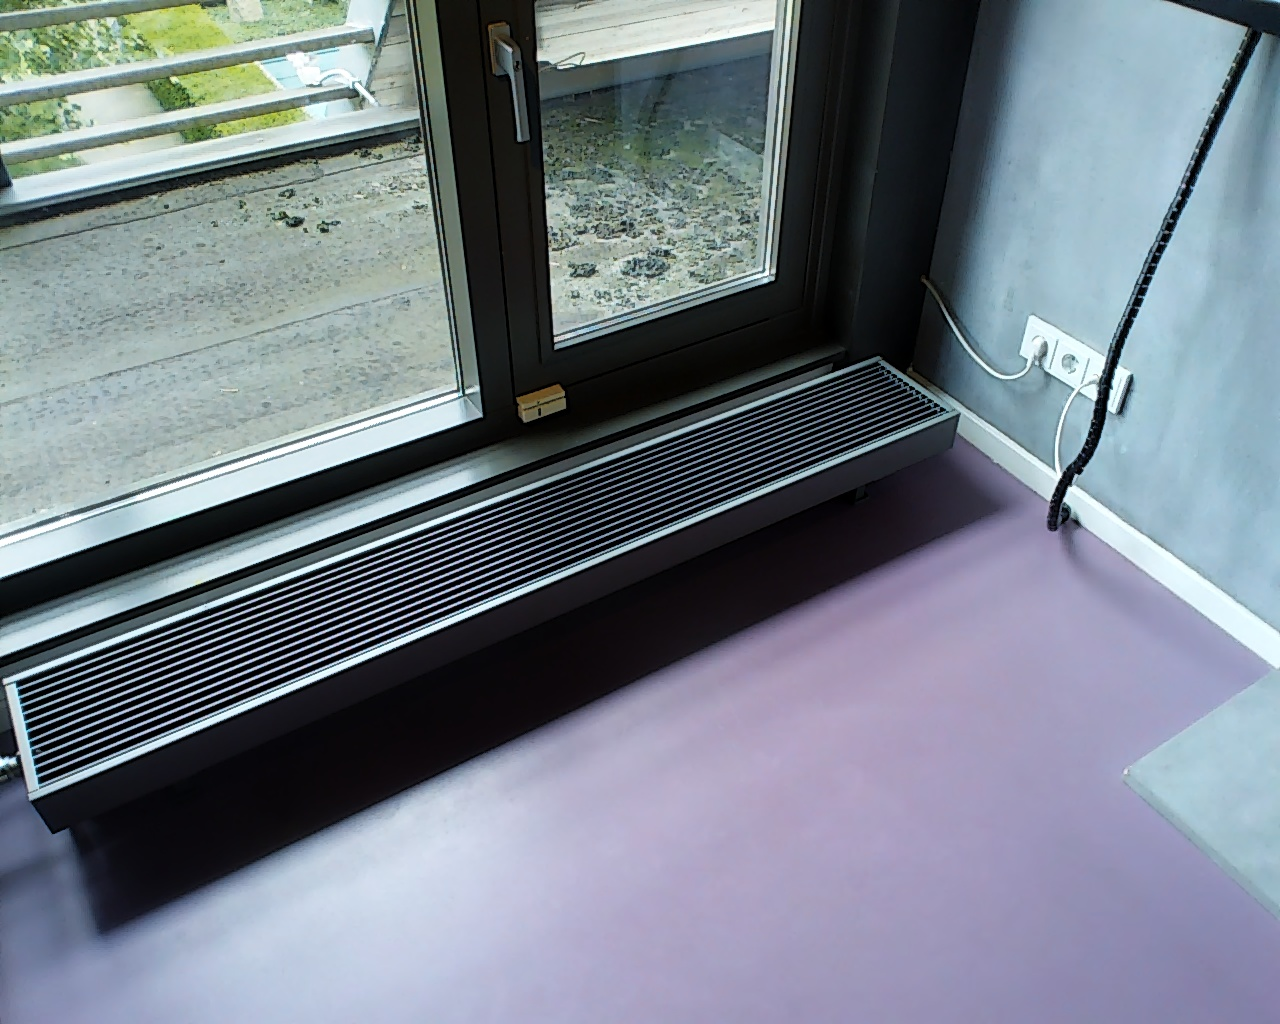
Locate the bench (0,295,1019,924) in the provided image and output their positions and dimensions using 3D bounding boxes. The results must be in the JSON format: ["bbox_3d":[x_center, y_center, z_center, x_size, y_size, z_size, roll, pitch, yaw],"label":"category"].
[{"bbox_3d":[-0.200,0.050,1.830,1.860,0.210,0.420,-21,45,-24],"label":"bench"}]
